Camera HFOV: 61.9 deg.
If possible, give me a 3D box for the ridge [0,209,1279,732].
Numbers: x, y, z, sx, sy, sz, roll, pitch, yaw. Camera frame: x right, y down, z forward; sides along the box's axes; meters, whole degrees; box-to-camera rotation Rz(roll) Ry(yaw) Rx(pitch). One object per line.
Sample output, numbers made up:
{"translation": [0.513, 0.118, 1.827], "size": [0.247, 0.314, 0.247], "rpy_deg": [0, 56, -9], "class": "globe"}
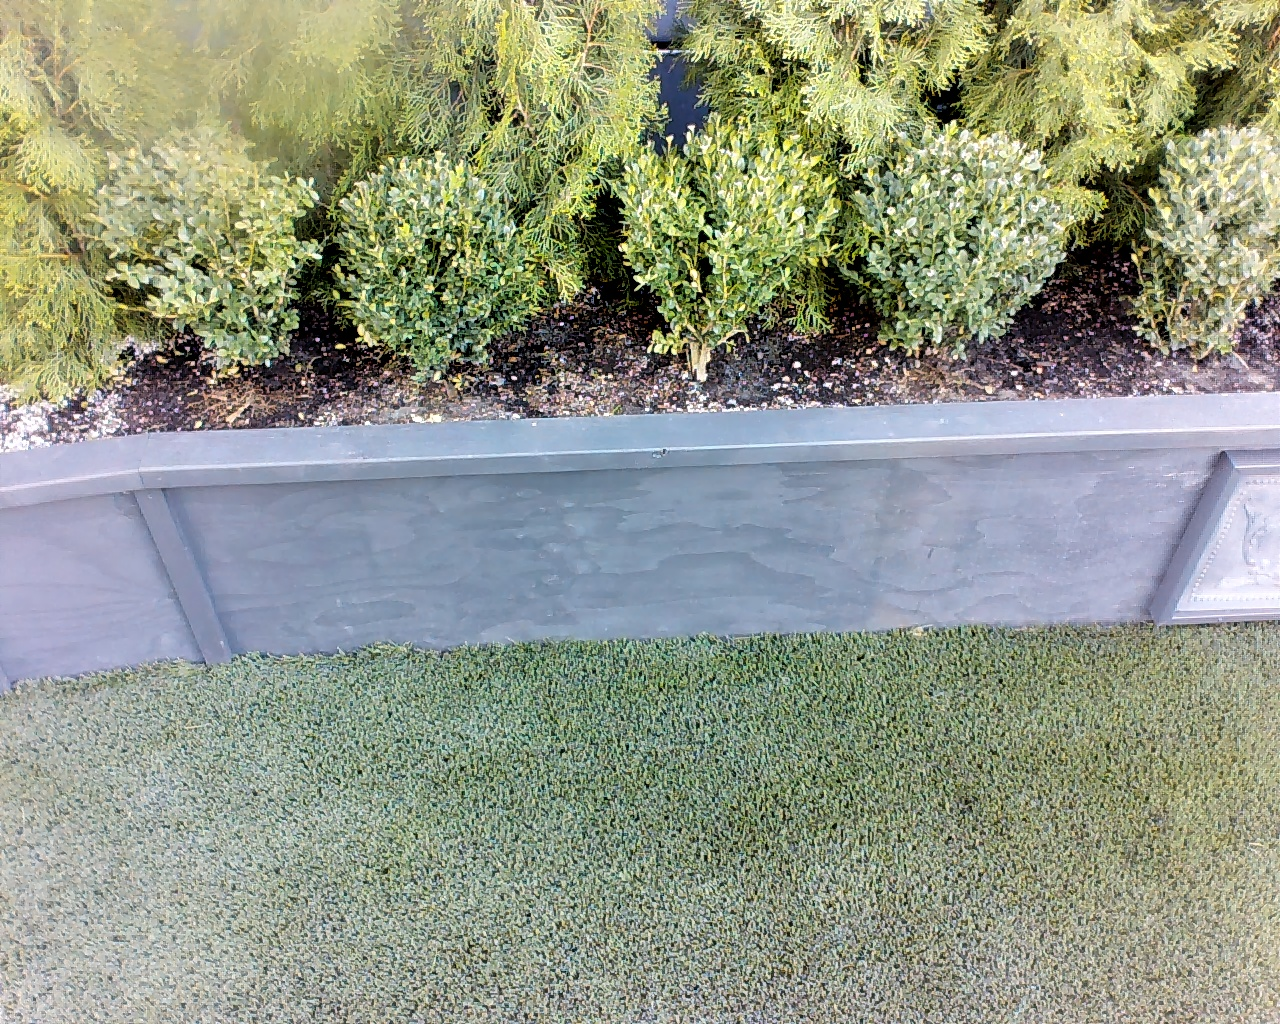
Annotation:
{"translation": [0.960, -0.130, 1.880], "size": [5.539, 0.540, 0.620], "rpy_deg": [-2, 43, -3], "class": "ridge"}
